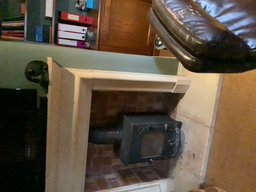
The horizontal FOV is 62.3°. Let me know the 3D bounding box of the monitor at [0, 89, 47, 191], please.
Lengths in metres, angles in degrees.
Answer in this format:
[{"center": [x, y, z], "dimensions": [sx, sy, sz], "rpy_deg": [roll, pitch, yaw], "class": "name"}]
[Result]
[{"center": [-0.970, 0.460, 1.550], "dimensions": [0.040, 0.680, 1.040], "rpy_deg": [26, 113, 61], "class": "monitor"}]
